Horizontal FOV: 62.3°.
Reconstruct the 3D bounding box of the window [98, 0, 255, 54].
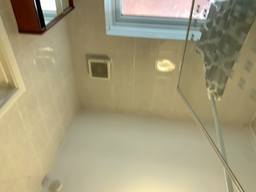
[{"bbox_3d":[0.390,-0.910,1.640,1.220,1.040,0.310,4,-142,3],"label":"window"}]
